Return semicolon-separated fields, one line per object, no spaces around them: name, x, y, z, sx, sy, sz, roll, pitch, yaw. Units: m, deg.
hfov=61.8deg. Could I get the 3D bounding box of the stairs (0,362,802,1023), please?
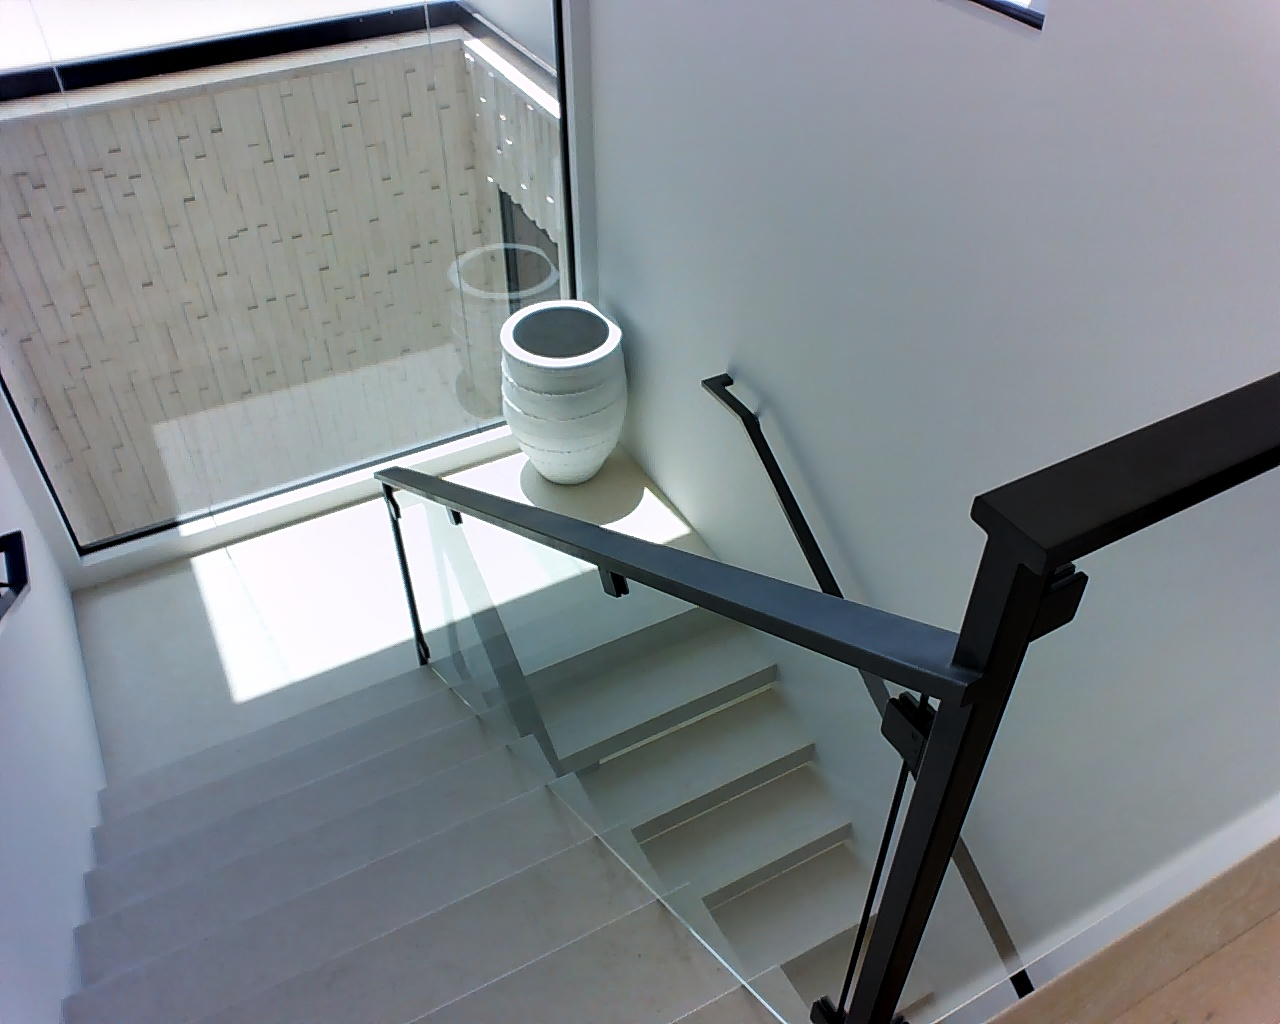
stairs;-0.720;0.990;2.630;1.210;1.450;2.410;-19;45;-20
